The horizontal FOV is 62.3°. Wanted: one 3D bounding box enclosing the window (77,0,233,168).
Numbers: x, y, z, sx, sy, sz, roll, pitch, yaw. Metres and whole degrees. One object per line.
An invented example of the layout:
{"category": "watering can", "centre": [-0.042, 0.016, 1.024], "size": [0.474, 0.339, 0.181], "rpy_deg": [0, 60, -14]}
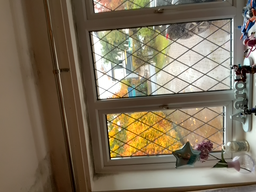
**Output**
{"category": "window", "centre": [0.200, -0.280, 1.480], "size": [0.080, 1.010, 1.560], "rpy_deg": [-82, -12, -82]}
